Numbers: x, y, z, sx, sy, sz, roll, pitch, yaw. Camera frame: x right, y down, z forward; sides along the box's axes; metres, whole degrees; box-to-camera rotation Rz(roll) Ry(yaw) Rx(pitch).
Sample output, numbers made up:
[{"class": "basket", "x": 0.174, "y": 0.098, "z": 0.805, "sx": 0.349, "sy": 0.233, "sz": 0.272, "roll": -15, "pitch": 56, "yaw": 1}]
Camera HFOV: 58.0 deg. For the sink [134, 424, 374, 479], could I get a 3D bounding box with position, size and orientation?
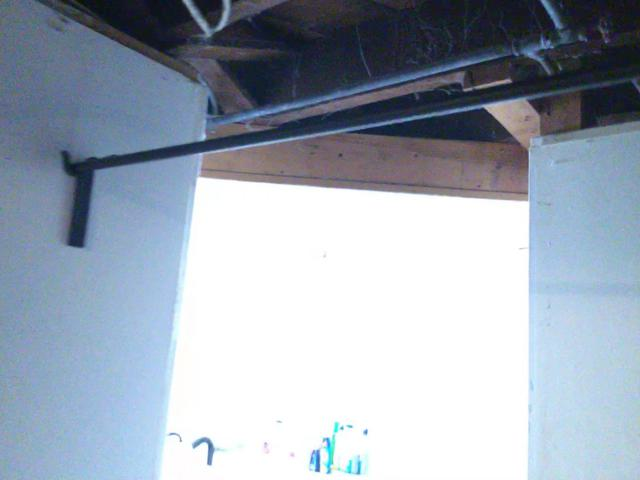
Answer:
[{"class": "sink", "x": -0.320, "y": 1.340, "z": 3.140, "sx": 0.700, "sy": 0.530, "sz": 1.140, "roll": -4, "pitch": -15, "yaw": 37}]
